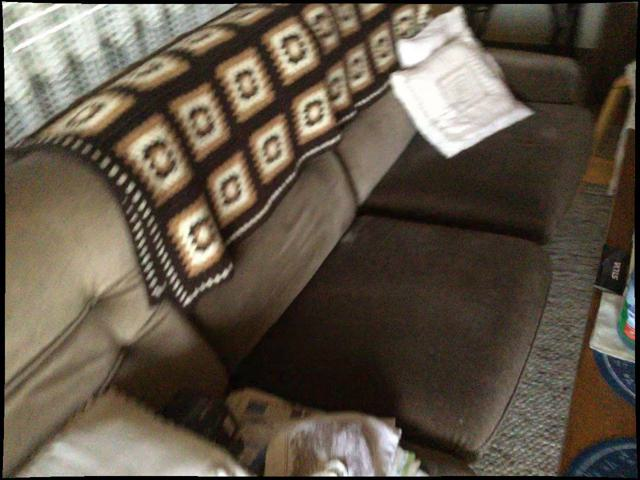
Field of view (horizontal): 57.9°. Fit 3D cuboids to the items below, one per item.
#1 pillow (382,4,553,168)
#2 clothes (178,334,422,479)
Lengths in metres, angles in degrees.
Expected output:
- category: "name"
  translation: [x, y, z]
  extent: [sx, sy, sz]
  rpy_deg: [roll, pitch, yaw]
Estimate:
- category: "pillow"
  translation: [0.490, -0.531, 1.900]
  extent: [0.400, 0.260, 0.560]
  rpy_deg: [14, 45, 21]
- category: "clothes"
  translation: [-0.020, 0.370, 1.000]
  extent: [0.300, 0.140, 0.330]
  rpy_deg: [14, 45, 21]
